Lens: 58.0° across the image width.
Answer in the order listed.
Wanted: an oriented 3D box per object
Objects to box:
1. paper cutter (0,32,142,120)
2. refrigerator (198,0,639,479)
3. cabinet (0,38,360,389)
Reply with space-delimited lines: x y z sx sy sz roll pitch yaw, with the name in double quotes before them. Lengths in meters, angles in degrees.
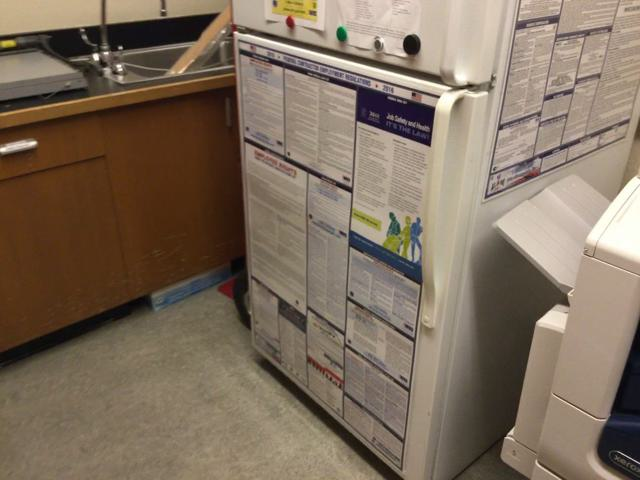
"paper cutter" -0.930 -0.540 1.840 0.470 0.130 0.630 -20 33 -34
"refrigerator" 0.360 -0.190 1.530 0.840 1.570 1.100 -21 33 -34
"cabinet" -0.840 -0.150 2.120 2.100 0.890 0.570 -20 33 -33
